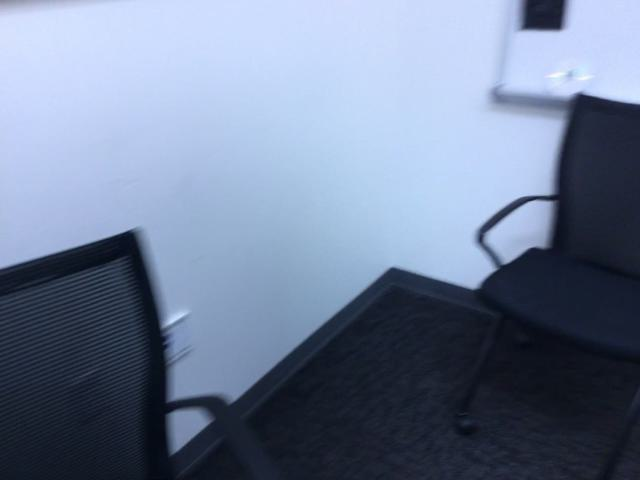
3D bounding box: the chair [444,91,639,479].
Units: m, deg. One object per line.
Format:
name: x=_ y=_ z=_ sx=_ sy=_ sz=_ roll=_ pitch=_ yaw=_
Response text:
chair: x=0.750 y=0.100 z=1.600 sx=0.520 sy=0.850 sz=0.680 roll=15 pitch=31 yaw=35
